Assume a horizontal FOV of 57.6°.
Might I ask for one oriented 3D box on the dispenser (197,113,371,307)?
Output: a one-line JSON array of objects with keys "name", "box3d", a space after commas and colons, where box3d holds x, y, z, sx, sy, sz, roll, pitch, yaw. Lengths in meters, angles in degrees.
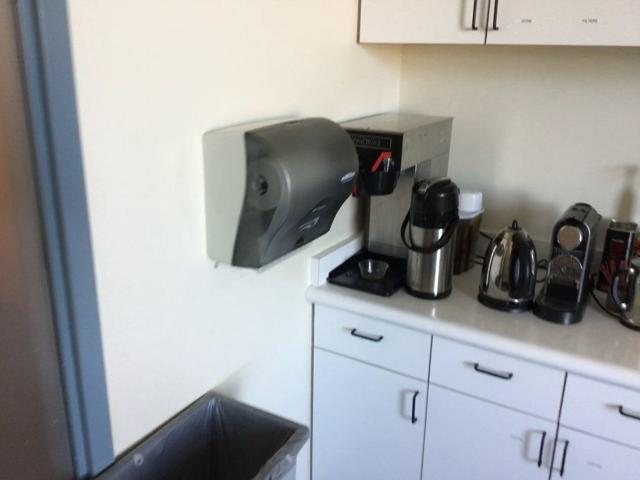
[{"name": "dispenser", "box3d": [-0.070, -0.090, 1.310, 0.220, 0.350, 0.320, 13, 21, 35]}]
